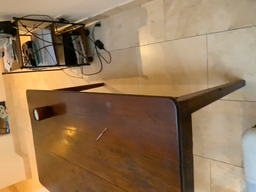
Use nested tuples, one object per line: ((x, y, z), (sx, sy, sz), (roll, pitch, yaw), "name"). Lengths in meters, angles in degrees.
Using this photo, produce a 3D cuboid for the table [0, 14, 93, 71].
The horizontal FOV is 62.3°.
((-0.840, -0.510, 2.180), (0.580, 0.710, 0.440), (4, 102, 45), "table")
